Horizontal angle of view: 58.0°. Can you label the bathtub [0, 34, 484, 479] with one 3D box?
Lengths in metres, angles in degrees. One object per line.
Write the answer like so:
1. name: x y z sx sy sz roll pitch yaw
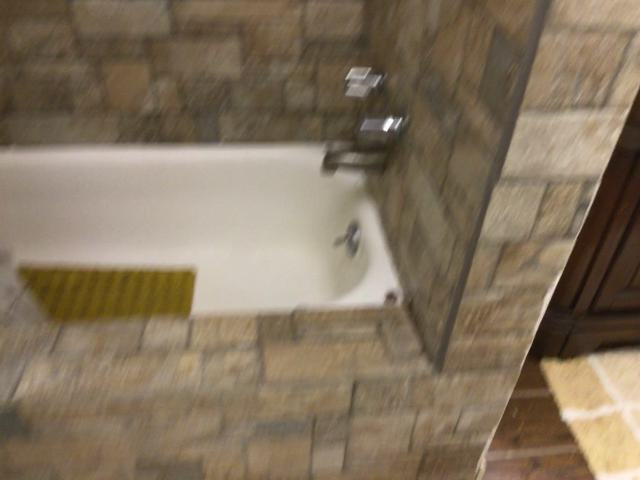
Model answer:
1. bathtub: -0.660 0.060 1.250 1.670 0.680 0.850 -3 40 -6
